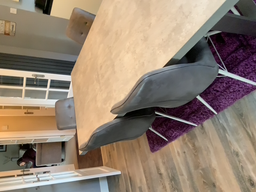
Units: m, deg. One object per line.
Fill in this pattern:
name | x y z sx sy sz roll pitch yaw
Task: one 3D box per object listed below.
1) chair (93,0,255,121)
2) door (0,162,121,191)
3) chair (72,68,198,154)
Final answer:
chair | 0.320 -0.170 1.340 0.430 0.920 0.510 -44 51 49
door | -1.070 1.020 2.660 0.500 1.960 0.070 -13 76 59
chair | 0.050 0.140 1.800 0.410 0.900 0.510 -46 50 49
